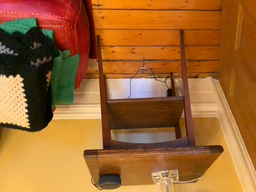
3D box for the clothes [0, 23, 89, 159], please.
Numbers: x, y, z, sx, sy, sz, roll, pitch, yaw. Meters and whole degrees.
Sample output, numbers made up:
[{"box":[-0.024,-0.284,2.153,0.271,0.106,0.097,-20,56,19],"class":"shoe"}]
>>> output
[{"box":[-0.480,0.010,0.910,0.460,0.300,0.480,16,139,-24],"class":"clothes"}]
